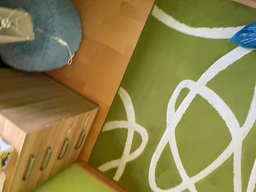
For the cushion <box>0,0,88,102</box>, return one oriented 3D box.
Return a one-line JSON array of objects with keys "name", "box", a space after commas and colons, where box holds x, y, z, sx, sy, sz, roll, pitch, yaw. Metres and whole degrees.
[{"name": "cushion", "box": [-0.610, -0.350, 1.280, 0.500, 0.250, 0.550, 34, 109, 14]}]
